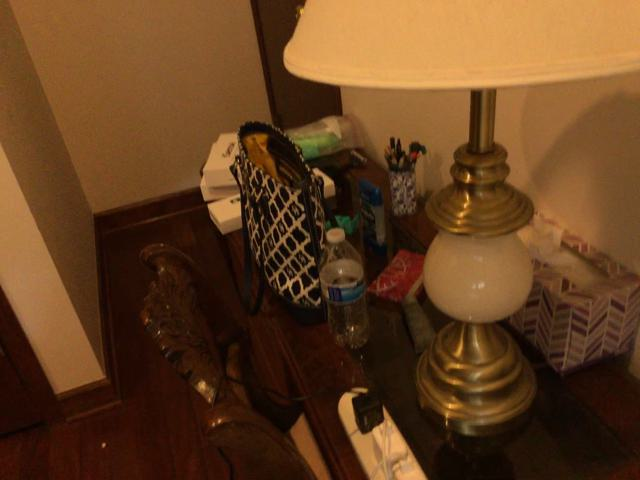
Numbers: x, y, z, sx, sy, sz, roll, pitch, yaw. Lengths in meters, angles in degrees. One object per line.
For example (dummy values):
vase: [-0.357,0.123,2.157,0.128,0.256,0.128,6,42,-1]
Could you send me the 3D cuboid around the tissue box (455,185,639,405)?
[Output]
tissue box: [0.330,0.070,0.870,0.130,0.190,0.260,-15,34,-13]
